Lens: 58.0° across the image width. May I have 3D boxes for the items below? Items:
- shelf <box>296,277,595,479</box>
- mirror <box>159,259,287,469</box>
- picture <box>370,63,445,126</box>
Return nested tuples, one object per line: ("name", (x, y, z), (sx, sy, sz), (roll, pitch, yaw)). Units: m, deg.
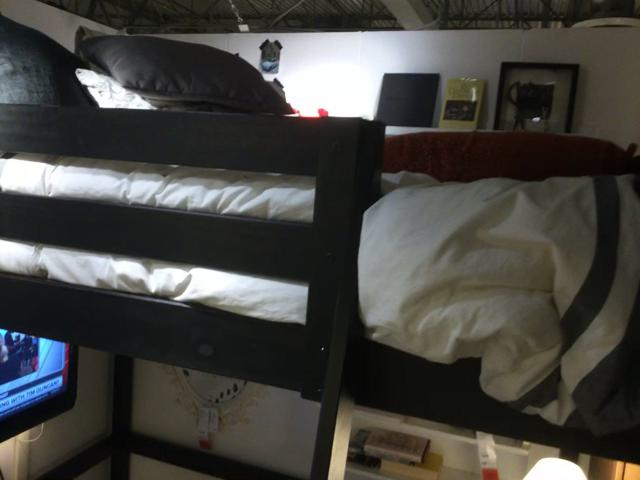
("shelf", (0.420, 0.640, 2.120), (0.980, 0.880, 0.250), (5, 7, 21))
("mirror", (-0.440, 0.530, 2.550), (0.580, 0.840, 0.080), (5, 7, 21))
("picture", (0.320, -0.530, 2.120), (0.250, 0.210, 0.080), (5, 7, 22))
